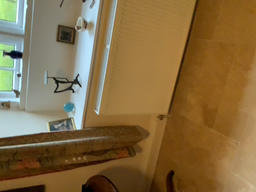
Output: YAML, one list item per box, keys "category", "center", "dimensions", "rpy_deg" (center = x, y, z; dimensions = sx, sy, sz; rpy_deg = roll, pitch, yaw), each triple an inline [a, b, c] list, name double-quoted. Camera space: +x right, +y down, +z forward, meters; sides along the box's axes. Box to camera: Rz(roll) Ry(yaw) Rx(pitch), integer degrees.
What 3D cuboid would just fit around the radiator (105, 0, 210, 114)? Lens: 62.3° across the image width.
- category: "radiator"
  center: [0.220, -0.320, 1.490]
  dimensions: [0.110, 0.640, 0.900]
  rpy_deg: [29, 112, 53]
